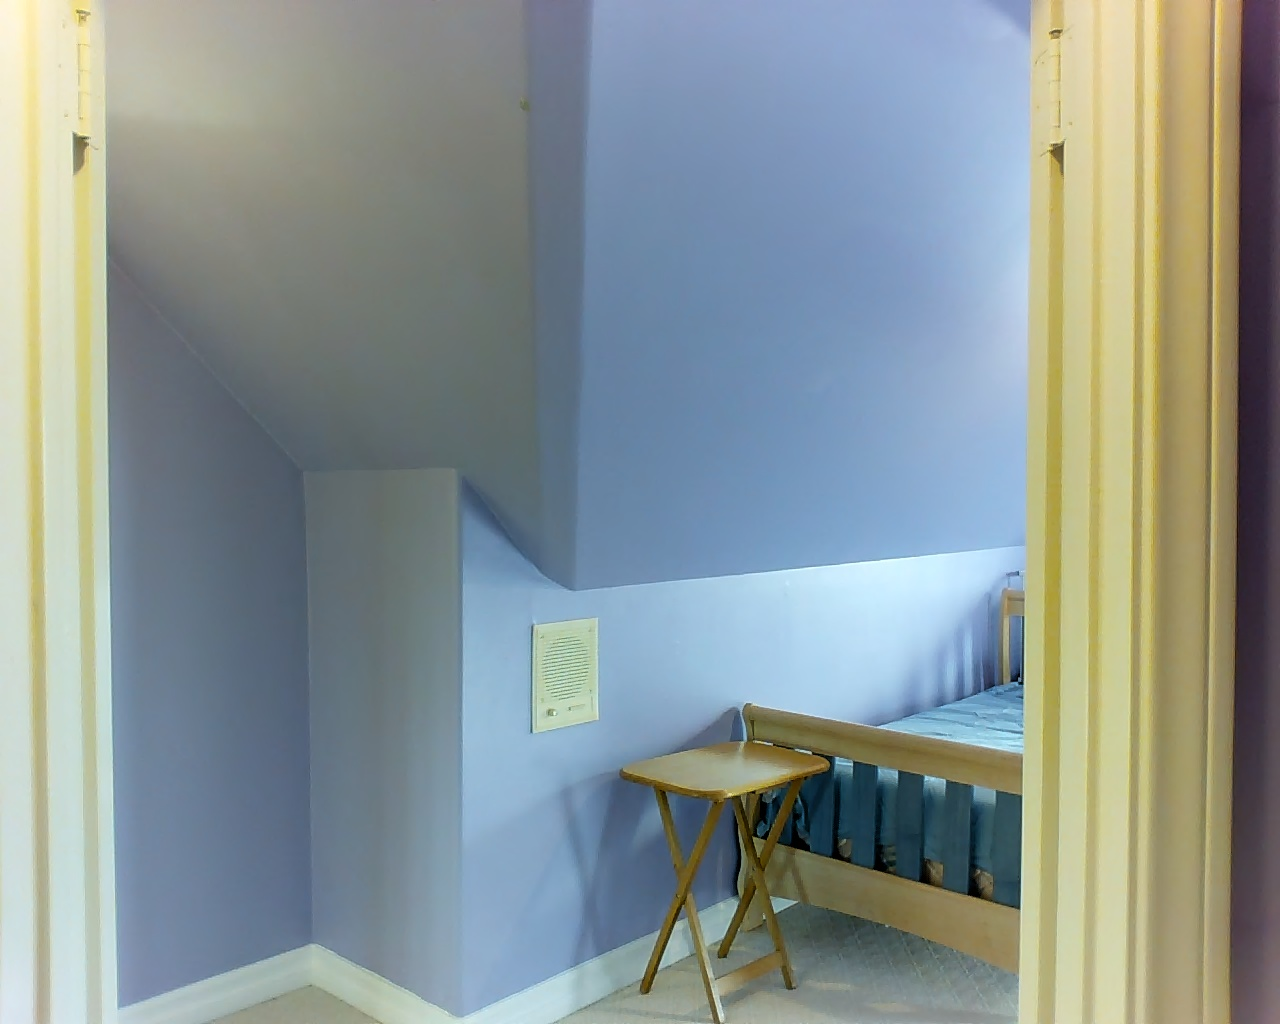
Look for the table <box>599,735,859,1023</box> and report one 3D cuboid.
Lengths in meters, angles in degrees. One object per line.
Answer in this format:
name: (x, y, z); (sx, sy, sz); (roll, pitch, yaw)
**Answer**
table: (0.270, 1.060, 3.100); (0.450, 0.650, 0.650); (0, 1, 40)
